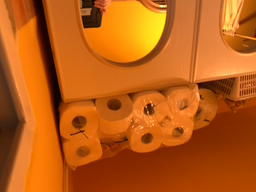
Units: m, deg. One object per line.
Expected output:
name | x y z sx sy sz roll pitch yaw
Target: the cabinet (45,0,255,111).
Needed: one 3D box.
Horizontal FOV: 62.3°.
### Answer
cabinet | 0.160 -0.420 0.670 0.810 0.740 0.360 -8 -153 -13
